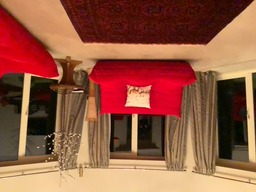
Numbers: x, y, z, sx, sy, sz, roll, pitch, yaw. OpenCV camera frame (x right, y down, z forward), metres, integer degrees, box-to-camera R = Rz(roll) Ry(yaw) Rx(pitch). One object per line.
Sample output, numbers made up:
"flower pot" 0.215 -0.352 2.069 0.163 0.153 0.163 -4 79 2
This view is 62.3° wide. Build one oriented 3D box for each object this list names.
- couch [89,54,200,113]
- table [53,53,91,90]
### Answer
"couch" 0.260 -0.150 3.650 1.610 0.830 1.050 1 174 4
"table" -0.920 -0.370 3.460 0.430 0.470 0.450 6 172 -38
